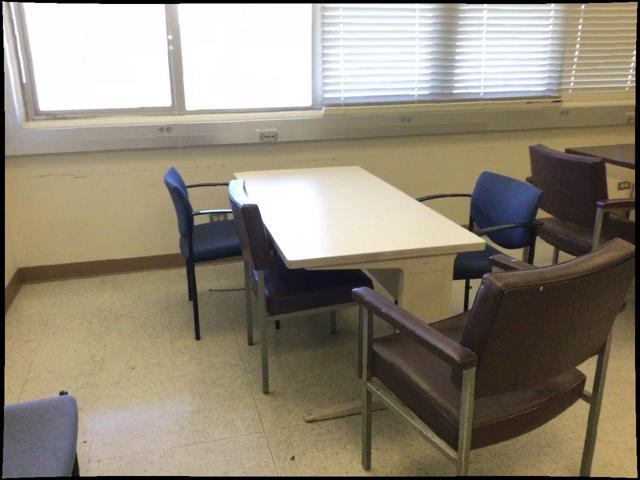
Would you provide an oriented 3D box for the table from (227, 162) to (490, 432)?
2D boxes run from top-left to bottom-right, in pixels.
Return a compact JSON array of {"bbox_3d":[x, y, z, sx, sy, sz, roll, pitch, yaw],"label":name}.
[{"bbox_3d":[0.050,0.120,2.810,0.798,0.651,1.500,-6,21,-14],"label":"table"}]
